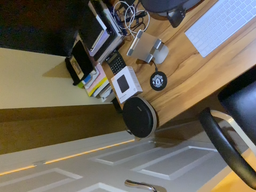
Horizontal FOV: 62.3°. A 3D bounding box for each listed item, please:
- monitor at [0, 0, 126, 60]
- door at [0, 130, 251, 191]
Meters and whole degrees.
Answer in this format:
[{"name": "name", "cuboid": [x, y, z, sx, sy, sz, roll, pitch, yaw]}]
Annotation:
[{"name": "monitor", "cuboid": [-0.210, -0.450, 0.840, 0.040, 0.540, 0.630, 47, 119, 30]}, {"name": "door", "cuboid": [-0.190, 0.340, 0.900, 0.880, 1.980, 0.080, -4, 88, 41]}]
